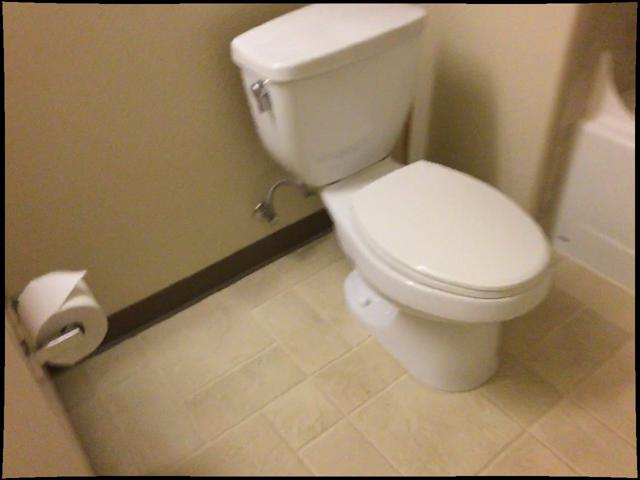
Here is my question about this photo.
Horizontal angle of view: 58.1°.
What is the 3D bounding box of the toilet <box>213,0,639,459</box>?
[{"bbox_3d":[0.209,-0.080,1.440,0.479,0.791,0.780,-30,46,-26],"label":"toilet"}]
